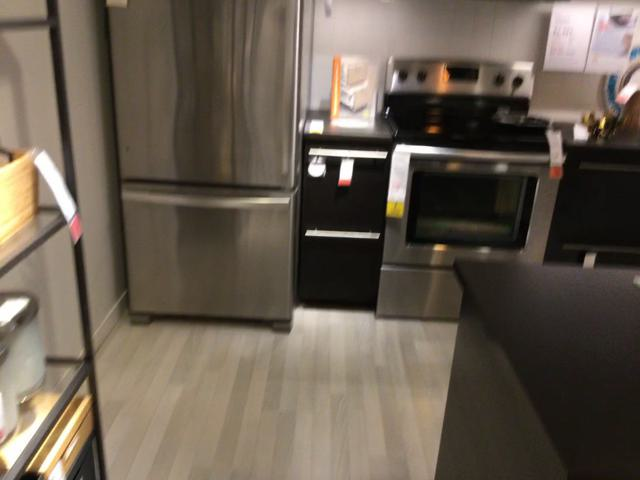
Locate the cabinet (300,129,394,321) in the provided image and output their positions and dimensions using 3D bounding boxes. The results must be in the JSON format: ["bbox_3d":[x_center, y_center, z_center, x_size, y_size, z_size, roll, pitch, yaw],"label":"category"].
[{"bbox_3d":[0.150,-0.110,2.950,0.390,0.810,0.640,4,18,7],"label":"cabinet"}]

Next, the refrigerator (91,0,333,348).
[{"bbox_3d":[-0.410,-0.490,2.670,0.820,1.700,0.820,4,18,7],"label":"refrigerator"}]
